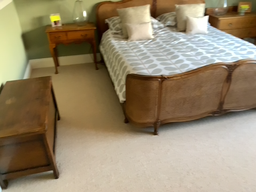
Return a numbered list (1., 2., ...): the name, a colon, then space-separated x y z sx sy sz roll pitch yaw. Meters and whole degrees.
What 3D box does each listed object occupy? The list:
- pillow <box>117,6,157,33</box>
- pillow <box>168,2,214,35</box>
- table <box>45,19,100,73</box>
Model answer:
1. pillow: 0.110 -1.130 3.170 0.490 0.140 0.570 -6 -5 -10
2. pillow: 0.950 -1.220 3.310 0.460 0.360 0.520 -6 33 -10
3. table: -0.880 -0.830 3.470 0.730 0.700 0.440 -7 33 -11
